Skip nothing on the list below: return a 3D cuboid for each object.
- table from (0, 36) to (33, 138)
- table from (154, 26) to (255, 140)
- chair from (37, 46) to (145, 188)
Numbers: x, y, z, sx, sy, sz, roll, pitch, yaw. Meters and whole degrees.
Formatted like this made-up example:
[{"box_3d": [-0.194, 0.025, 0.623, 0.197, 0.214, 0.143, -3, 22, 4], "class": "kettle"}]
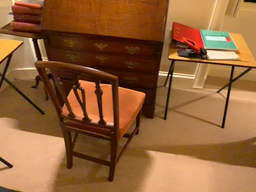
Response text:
[{"box_3d": [-1.220, -0.040, 1.780, 0.330, 0.660, 0.770, 7, 40, 4], "class": "table"}, {"box_3d": [0.610, -0.120, 1.910, 0.610, 0.770, 0.560, 8, 40, 6], "class": "table"}, {"box_3d": [-0.200, 0.150, 1.520, 0.450, 0.770, 0.550, 13, 40, 11], "class": "chair"}]
